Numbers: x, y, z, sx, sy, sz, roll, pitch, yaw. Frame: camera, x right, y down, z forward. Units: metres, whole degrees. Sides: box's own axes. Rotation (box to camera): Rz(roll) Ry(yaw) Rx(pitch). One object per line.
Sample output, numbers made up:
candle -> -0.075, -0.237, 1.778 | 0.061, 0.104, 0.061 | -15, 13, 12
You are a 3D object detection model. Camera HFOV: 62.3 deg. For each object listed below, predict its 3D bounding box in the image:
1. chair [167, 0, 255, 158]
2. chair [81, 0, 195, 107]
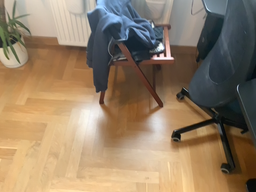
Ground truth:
chair -> 0.650, -0.130, 1.190 | 0.650, 0.990, 0.560 | 4, 52, 0
chair -> 0.050, -0.360, 1.470 | 0.550, 0.780, 0.460 | 6, 52, 1
